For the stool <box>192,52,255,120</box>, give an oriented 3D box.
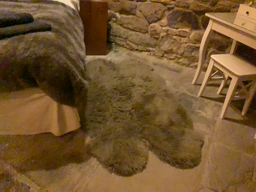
[{"bbox_3d":[0.910,-0.110,1.960,0.330,0.440,0.420,-8,37,-19],"label":"stool"}]
